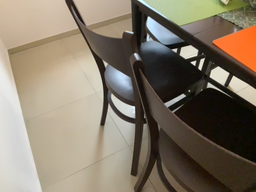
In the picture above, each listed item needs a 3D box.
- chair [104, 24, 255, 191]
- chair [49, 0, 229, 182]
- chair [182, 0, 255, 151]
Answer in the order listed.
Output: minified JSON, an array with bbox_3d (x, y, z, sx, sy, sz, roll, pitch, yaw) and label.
[{"bbox_3d":[0.260,0.230,0.770,0.470,0.730,0.400,-31,53,-24],"label":"chair"},{"bbox_3d":[0.040,-0.040,1.030,0.500,0.740,0.410,-27,51,-22],"label":"chair"},{"bbox_3d":[0.650,-0.170,1.110,0.440,0.770,0.420,-25,50,-20],"label":"chair"}]
